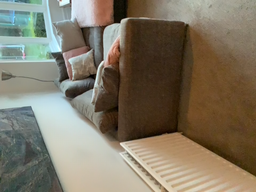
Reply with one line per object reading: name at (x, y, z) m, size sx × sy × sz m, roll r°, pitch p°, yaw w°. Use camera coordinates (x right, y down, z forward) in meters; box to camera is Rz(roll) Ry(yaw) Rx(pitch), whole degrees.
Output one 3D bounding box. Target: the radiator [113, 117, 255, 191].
radiator at (0.590, 0.550, 1.270) m, size 1.590 × 0.730 × 0.150 m, roll 31°, pitch 122°, yaw 54°
